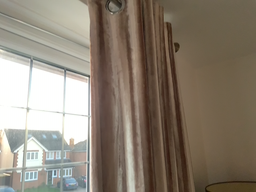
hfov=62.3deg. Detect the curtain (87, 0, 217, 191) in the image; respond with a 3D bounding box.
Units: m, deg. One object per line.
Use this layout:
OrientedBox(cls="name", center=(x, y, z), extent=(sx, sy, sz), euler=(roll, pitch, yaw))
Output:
OrientedBox(cls="curtain", center=(0.120, 0.400, 0.610), extent=(0.150, 1.430, 0.500), euler=(-13, -17, 35))
